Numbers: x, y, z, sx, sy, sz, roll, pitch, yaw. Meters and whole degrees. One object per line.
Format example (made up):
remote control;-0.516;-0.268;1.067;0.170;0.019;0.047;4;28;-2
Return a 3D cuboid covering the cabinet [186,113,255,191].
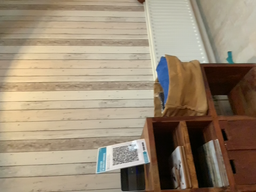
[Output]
cabinet;0.700;0.390;1.360;0.430;0.450;0.410;99;168;-60
